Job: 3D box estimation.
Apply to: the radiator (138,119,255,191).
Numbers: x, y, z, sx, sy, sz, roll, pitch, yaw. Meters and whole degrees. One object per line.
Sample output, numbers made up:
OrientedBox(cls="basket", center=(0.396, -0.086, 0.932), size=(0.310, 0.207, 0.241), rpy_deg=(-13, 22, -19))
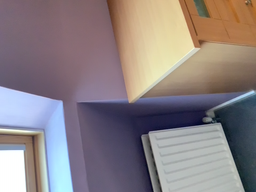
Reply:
OrientedBox(cls="radiator", center=(0.510, 0.580, 1.420), size=(0.140, 0.750, 0.770), rpy_deg=(-42, 56, 58))
